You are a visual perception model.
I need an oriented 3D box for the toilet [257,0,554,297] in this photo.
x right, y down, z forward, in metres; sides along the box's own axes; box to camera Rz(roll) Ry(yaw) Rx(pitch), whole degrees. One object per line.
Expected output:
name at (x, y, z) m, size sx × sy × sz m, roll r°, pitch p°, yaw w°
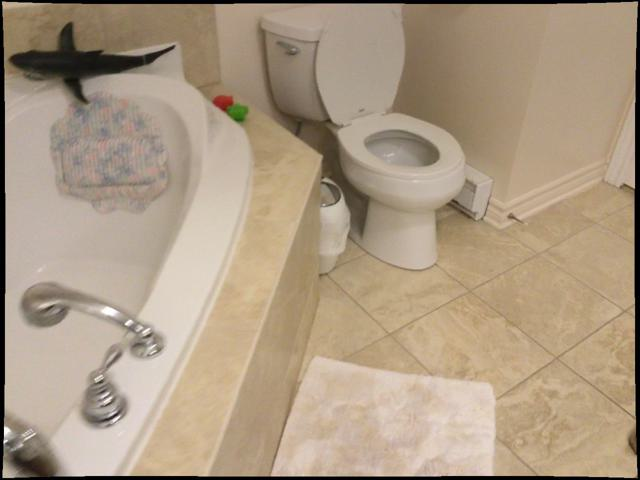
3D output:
toilet at (0.200, -0.390, 1.910) m, size 0.520 × 0.750 × 0.710 m, roll -22°, pitch 47°, yaw -29°
